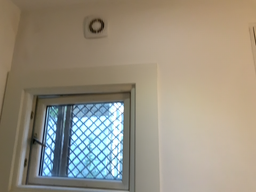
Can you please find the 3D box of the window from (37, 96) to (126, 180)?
[{"bbox_3d":[-0.330,0.290,1.530,0.610,0.560,0.070,-2,-15,12],"label":"window"}]
